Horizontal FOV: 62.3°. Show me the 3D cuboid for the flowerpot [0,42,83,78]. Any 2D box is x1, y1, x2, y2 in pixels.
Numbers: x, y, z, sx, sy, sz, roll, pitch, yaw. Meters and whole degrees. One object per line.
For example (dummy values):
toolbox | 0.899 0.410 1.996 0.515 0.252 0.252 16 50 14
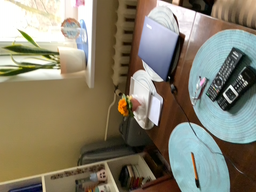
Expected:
flowerpot | -0.740 -0.290 1.650 0.240 0.720 0.180 -125 37 -50
